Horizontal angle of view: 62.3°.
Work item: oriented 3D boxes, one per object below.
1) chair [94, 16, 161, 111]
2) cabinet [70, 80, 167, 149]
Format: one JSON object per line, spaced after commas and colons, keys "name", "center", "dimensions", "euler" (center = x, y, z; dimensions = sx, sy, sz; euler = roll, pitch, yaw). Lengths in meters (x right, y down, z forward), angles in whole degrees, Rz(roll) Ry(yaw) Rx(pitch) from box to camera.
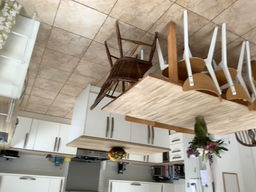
{"name": "chair", "center": [0.000, -0.310, 2.270], "dimensions": [0.510, 0.770, 0.470], "euler": [14, 155, -25]}
{"name": "cabinet", "center": [-0.110, 0.400, 3.840], "dimensions": [1.660, 0.850, 0.460], "euler": [15, 154, -26]}
